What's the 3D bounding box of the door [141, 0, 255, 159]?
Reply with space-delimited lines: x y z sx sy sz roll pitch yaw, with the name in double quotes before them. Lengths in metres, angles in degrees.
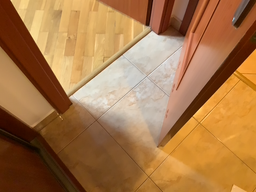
"door" 0.350 -0.470 0.520 0.150 2.070 0.970 21 68 8
